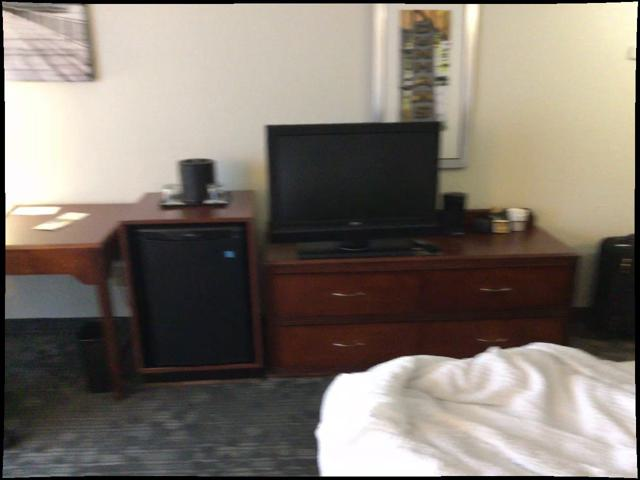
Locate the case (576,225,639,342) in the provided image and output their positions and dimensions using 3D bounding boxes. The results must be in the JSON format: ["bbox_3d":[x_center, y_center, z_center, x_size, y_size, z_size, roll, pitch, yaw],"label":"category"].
[{"bbox_3d":[1.728,0.230,3.130,0.470,0.561,0.290,0,19,-3],"label":"case"}]

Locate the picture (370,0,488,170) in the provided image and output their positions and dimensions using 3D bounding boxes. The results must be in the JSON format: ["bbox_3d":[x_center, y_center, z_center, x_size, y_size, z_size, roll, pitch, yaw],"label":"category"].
[{"bbox_3d":[0.549,-0.841,2.960,0.509,0.951,0.050,2,19,-3],"label":"picture"}]

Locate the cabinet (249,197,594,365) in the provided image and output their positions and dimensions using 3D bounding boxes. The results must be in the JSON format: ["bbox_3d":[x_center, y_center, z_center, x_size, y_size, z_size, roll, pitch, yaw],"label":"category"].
[{"bbox_3d":[0.450,0.190,2.970,1.568,0.701,0.530,0,19,-3],"label":"cabinet"}]
